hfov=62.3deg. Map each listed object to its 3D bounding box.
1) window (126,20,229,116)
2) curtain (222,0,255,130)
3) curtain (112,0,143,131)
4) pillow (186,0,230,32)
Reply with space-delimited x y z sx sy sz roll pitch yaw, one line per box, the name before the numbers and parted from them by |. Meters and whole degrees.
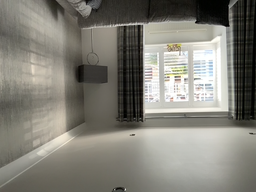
window | 0.950 -0.520 4.230 1.910 1.750 0.350 -2 -178 5
curtain | 1.730 -0.610 3.260 0.480 2.230 0.160 -2 -178 2
curtain | -0.010 -0.550 3.430 0.430 2.190 0.170 -2 -178 2
pillow | 0.900 -0.930 2.380 0.410 0.290 0.270 0 -177 33
